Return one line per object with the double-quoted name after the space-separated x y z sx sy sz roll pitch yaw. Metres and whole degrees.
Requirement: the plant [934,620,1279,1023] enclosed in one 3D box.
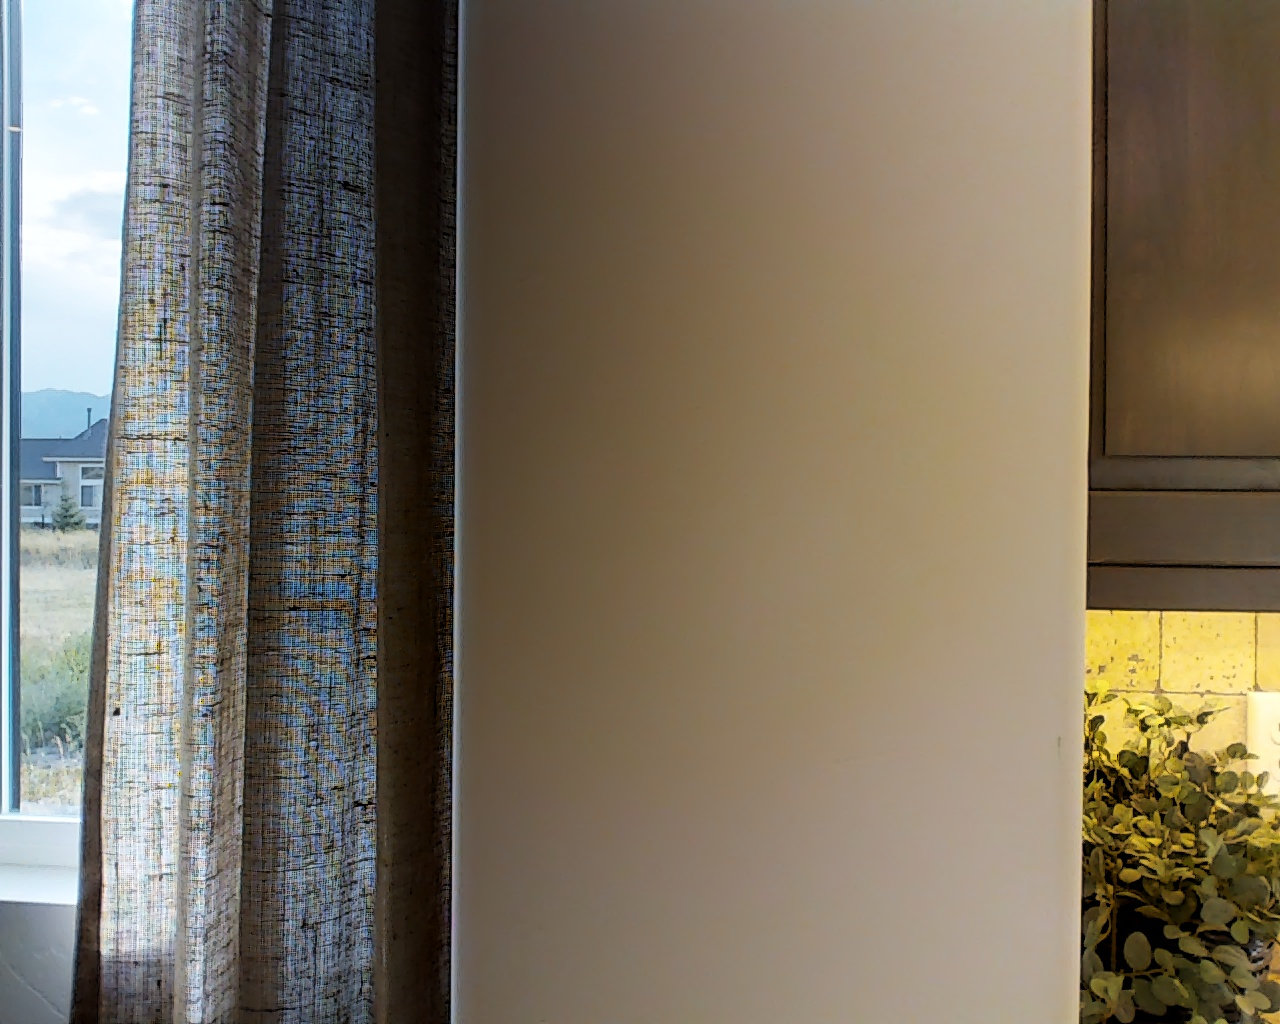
0.490 0.300 0.950 0.380 0.360 0.400 1 0 6 "plant"
